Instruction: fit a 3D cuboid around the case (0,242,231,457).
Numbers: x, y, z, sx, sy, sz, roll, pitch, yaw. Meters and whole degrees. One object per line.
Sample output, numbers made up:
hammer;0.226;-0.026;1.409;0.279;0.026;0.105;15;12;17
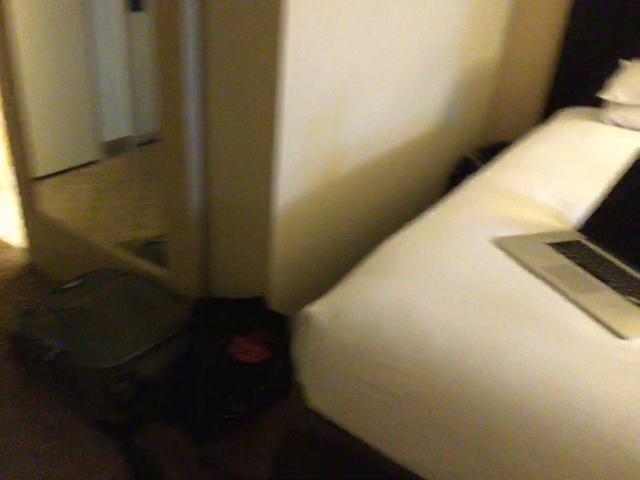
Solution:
case;-0.660;0.290;1.770;0.660;0.310;0.380;16;29;30

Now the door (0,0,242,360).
door;-0.730;-0.600;1.660;1.070;1.770;0.150;16;29;30

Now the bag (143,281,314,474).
bag;-0.240;0.360;1.610;0.330;0.320;0.310;16;29;30

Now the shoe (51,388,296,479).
shoe;-0.340;0.600;1.360;0.390;0.150;0.440;-21;32;-38
